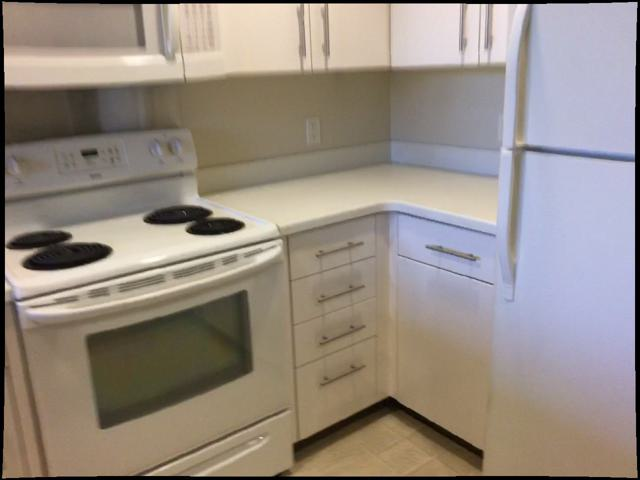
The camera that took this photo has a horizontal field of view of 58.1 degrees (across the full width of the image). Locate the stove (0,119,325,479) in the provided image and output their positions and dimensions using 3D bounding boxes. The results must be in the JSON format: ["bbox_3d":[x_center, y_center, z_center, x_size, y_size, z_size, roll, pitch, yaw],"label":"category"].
[{"bbox_3d":[-0.578,0.271,1.920,0.899,1.223,0.719,-14,20,-35],"label":"stove"}]

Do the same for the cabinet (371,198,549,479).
[{"bbox_3d":[0.449,0.351,2.050,0.120,0.902,0.649,-14,20,-35],"label":"cabinet"}]

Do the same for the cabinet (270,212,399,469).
[{"bbox_3d":[0.080,0.361,2.150,0.519,0.852,0.080,-14,20,-35],"label":"cabinet"}]
